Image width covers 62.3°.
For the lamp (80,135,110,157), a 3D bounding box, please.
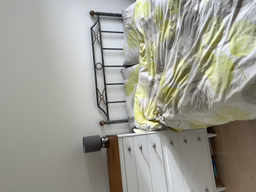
[{"bbox_3d":[-0.340,0.500,2.150,0.210,0.260,0.170,152,114,-69],"label":"lamp"}]
